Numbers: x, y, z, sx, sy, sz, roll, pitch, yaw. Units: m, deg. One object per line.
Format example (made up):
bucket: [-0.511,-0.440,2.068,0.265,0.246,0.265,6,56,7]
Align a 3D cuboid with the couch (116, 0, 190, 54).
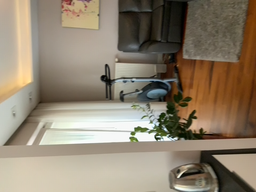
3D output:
couch: [0.410,-1.760,3.760,0.950,1.020,1.920,-137,49,-75]
